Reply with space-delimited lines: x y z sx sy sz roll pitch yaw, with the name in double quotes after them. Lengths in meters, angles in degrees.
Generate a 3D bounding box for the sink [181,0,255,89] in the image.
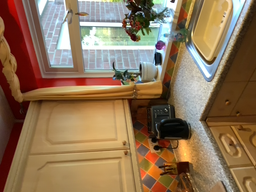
0.540 -0.390 1.330 0.490 0.160 0.490 -100 11 -46 "sink"

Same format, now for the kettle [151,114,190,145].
0.310 0.250 1.600 0.170 0.230 0.130 -100 11 -46 "kettle"

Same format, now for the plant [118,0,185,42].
0.150 -0.690 1.630 0.430 0.400 0.370 -100 11 -46 "plant"
